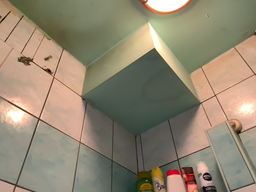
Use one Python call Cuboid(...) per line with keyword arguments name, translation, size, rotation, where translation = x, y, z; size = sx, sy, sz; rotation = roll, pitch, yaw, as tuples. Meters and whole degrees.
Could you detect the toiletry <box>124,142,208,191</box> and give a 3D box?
Cuboid(name="toiletry", translation=(0.160, 0.410, 0.930), size=(0.320, 0.280, 0.150), rotation=(-28, -51, 22))
